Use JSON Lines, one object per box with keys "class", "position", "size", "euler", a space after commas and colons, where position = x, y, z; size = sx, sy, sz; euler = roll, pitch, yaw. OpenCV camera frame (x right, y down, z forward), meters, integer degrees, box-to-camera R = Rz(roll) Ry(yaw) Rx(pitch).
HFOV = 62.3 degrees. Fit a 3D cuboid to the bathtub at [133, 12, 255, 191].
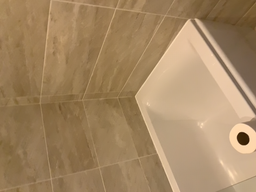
{"class": "bathtub", "position": [0.650, 0.380, 1.080], "size": [0.720, 0.570, 1.460], "euler": [-57, 46, 47]}
